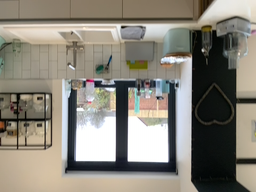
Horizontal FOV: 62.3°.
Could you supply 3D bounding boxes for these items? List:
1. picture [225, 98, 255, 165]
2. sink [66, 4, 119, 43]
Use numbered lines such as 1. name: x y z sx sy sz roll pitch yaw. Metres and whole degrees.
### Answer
1. picture: 1.440 0.390 2.360 0.690 0.730 0.070 0 180 1
2. sink: -0.320 -0.690 2.090 0.430 0.210 0.510 0 180 1
